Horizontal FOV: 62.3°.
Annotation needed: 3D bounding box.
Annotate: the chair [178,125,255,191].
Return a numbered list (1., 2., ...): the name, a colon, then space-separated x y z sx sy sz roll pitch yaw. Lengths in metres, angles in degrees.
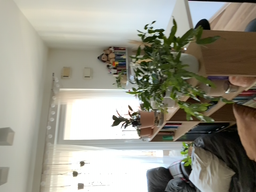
1. chair: 1.000 0.840 2.120 0.930 0.610 0.860 104 165 -65
